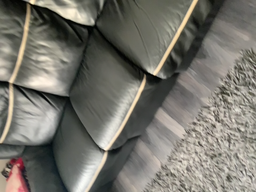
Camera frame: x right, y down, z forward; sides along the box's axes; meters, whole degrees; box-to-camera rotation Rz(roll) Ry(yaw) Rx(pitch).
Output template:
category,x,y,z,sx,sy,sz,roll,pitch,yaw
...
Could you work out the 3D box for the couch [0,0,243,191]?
category,x,y,z,sx,sy,sz,roll,pitch,yaw
couch,-0.350,-0.190,1.410,1.040,0.940,2.340,46,123,30
